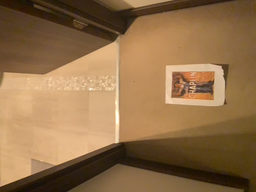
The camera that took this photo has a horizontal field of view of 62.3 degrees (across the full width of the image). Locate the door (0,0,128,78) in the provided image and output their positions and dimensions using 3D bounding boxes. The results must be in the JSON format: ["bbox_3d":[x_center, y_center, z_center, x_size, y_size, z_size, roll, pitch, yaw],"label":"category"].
[{"bbox_3d":[-0.860,-0.240,0.600,0.830,2.030,0.030,-18,83,30],"label":"door"}]
